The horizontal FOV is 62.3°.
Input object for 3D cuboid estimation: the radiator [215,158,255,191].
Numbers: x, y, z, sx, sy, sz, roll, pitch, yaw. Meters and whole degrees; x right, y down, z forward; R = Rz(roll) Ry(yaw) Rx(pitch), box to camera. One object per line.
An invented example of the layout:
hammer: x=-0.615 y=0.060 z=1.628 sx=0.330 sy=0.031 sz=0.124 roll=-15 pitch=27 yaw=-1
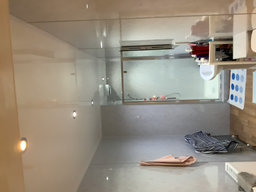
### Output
radiator: x=1.410 y=0.830 z=2.180 sx=0.790 sy=0.720 sz=0.100 roll=-83 pitch=-8 yaw=-85

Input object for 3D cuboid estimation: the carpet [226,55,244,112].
carpet: x=1.830 y=-0.210 z=3.650 sx=0.550 sy=0.030 sz=0.900 roll=-79 pitch=-12 yaw=-87
